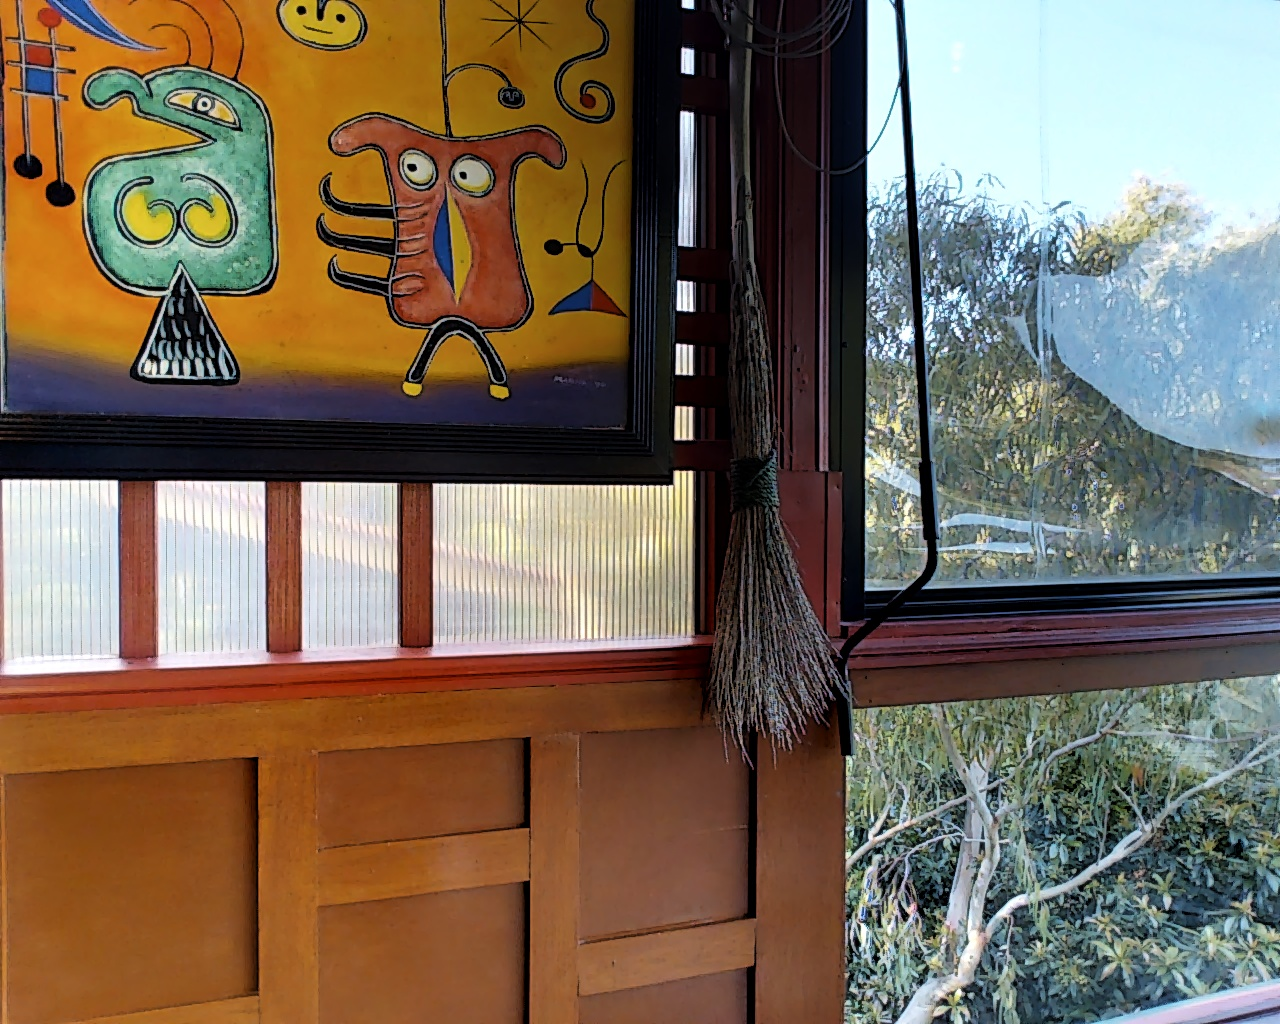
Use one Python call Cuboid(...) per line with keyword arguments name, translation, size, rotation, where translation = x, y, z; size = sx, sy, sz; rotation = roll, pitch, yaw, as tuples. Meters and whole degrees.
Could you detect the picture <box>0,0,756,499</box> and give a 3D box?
Cuboid(name="picture", translation=(-0.360, -0.400, 1.340), size=(1.060, 0.760, 0.140), rotation=(0, 2, -23))
